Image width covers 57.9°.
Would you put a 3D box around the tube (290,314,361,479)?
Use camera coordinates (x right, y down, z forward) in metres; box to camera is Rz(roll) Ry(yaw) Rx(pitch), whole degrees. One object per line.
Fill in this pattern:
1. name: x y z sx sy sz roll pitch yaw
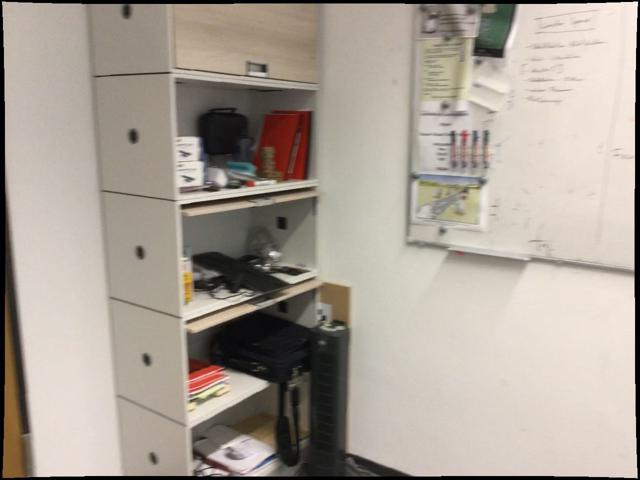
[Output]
1. tube: 0.020 0.681 2.460 0.220 0.671 0.180 10 15 32

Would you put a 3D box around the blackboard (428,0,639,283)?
1. blackboard: 1.259 -0.320 1.660 1.929 0.991 0.080 10 15 32

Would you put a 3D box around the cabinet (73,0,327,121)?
1. cabinet: -0.400 -0.971 2.130 0.480 1.031 0.830 10 15 32
